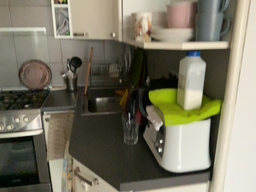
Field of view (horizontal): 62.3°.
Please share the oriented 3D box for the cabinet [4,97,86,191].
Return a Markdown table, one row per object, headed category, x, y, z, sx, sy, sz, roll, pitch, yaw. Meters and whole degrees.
| category | x | y | z | sx | sy | sz | roll | pitch | yaw |
| --- | --- | --- | --- | --- | --- | --- | --- | --- | --- |
| cabinet | -0.600 | 0.320 | 1.510 | 0.310 | 0.460 | 0.590 | -15 | 22 | -40 |
